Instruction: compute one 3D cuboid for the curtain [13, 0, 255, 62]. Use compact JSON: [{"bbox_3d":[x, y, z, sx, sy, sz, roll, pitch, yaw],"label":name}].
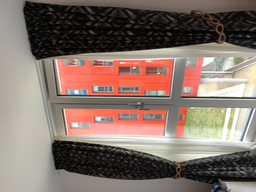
[{"bbox_3d":[0.400,-0.550,1.740,0.240,2.490,0.460,-91,3,-69],"label":"curtain"}]
